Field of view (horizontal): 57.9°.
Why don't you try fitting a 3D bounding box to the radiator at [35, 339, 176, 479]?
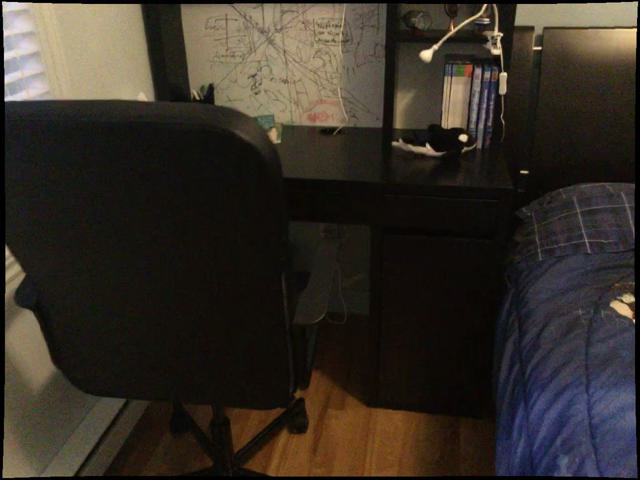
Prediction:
[{"bbox_3d":[-0.629,0.691,1.280,0.100,0.180,1.280,4,29,10],"label":"radiator"}]
